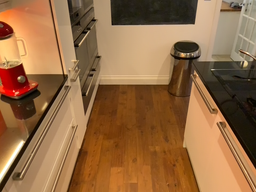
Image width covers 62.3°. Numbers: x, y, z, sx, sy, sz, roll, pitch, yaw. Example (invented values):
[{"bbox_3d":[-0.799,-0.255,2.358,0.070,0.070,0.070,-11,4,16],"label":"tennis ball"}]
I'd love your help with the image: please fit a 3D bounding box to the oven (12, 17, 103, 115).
[{"bbox_3d":[-0.720,-0.440,2.620,0.620,0.800,1.170,0,32,1],"label":"oven"}]
